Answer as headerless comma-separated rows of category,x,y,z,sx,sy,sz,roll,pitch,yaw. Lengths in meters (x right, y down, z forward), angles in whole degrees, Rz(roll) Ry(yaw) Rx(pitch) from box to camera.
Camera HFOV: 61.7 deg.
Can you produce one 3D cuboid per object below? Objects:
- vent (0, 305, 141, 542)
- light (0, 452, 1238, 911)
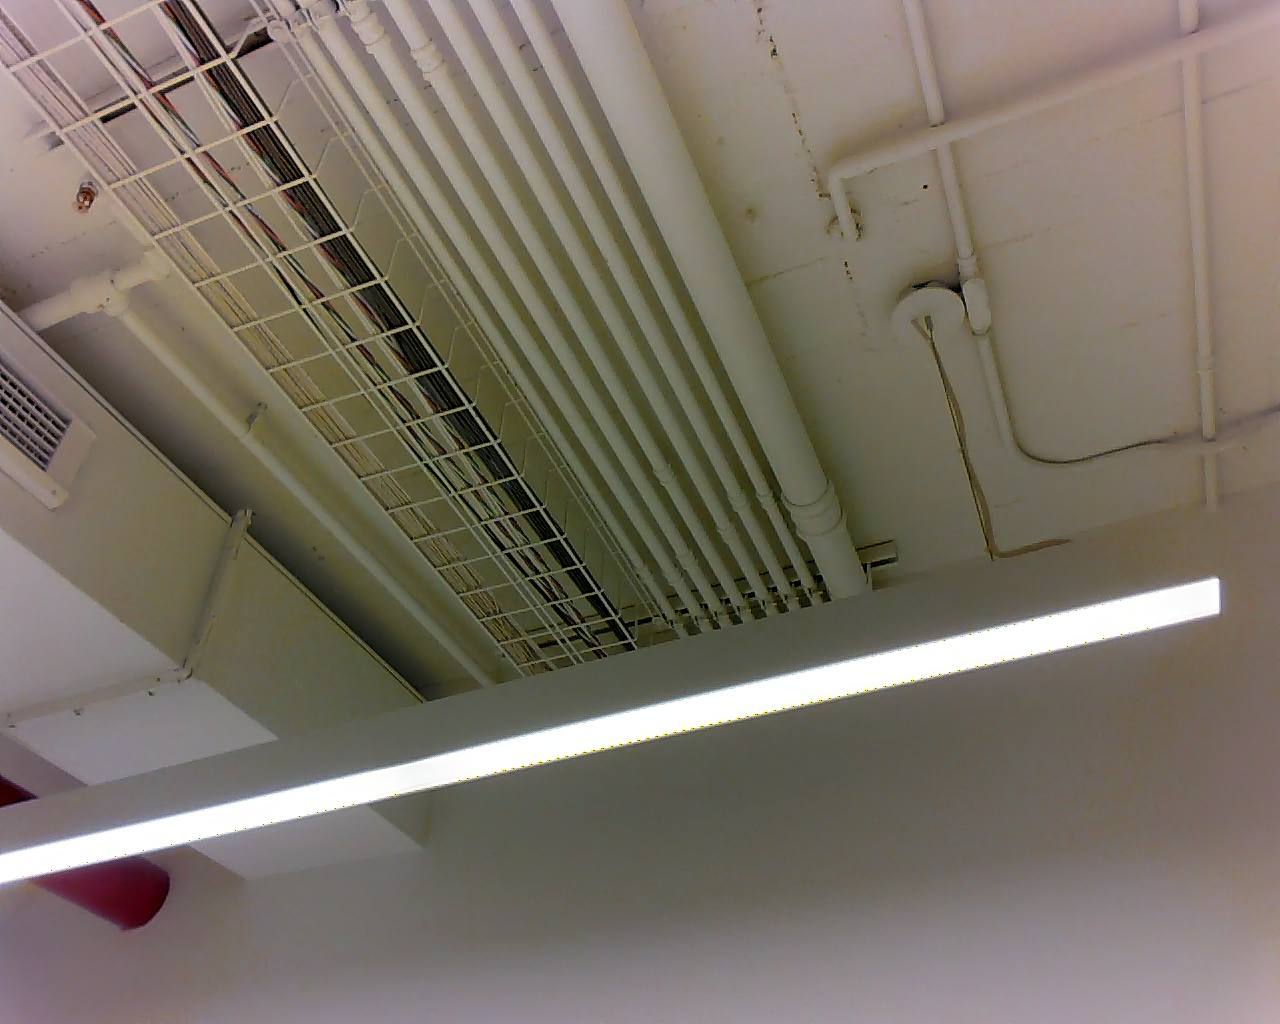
vent,-1.019,-0.170,1.760,0.040,0.240,0.410,-15,-44,17
light,-0.390,0.380,1.790,2.489,0.220,0.190,-16,-45,17
